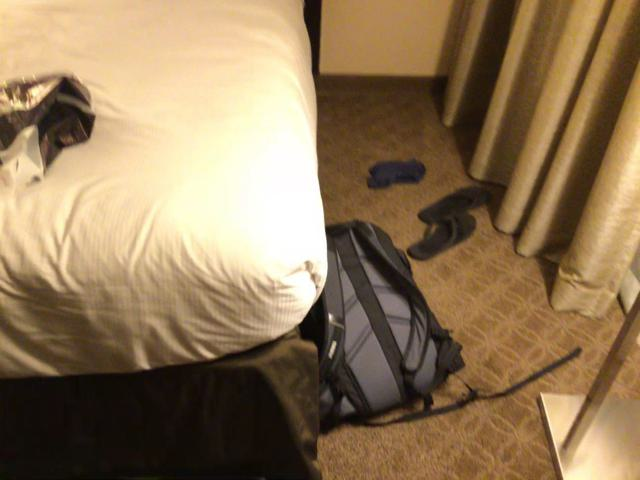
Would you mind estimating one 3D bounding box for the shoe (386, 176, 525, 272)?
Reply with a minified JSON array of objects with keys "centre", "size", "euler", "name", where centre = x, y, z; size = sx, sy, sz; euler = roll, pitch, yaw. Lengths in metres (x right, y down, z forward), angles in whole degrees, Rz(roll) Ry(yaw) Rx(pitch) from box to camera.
[{"centre":[0.460,-0.070,2.040],"size":[0.320,0.120,0.400],"euler":[-3,36,-16],"name":"shoe"}]
